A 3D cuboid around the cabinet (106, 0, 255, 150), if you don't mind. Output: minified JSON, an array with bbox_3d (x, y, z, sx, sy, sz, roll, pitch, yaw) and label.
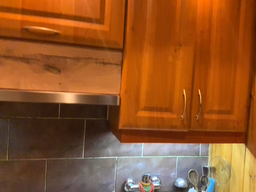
[{"bbox_3d":[0.250,-0.220,1.030,0.630,0.870,0.330,3,1,-14],"label":"cabinet"}]
